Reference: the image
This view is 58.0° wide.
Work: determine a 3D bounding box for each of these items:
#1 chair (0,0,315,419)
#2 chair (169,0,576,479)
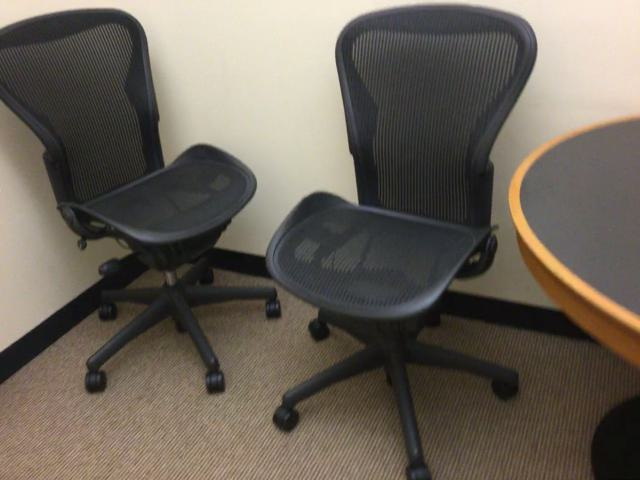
[{"bbox_3d":[-0.540,-0.160,1.850,0.700,1.060,0.710,8,30,26],"label":"chair"},{"bbox_3d":[0.200,-0.020,1.500,0.650,1.030,0.700,10,31,30],"label":"chair"}]
